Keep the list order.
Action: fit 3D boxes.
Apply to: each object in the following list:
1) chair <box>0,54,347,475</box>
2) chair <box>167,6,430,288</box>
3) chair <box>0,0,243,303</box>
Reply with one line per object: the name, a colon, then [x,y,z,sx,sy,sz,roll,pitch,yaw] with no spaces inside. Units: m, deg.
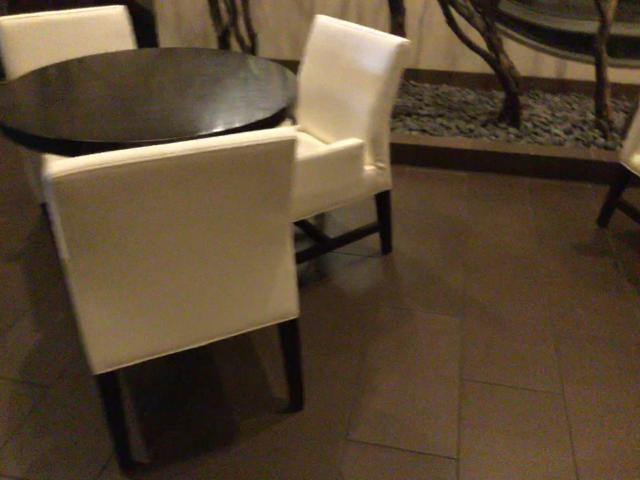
chair: [-0.390,0.010,1.600,0.670,0.830,0.690,-9,33,-18]
chair: [-0.100,-0.390,2.140,0.660,0.770,0.610,-18,37,-31]
chair: [-0.830,-0.440,2.260,0.700,0.870,0.880,-17,36,-30]
